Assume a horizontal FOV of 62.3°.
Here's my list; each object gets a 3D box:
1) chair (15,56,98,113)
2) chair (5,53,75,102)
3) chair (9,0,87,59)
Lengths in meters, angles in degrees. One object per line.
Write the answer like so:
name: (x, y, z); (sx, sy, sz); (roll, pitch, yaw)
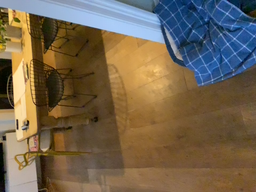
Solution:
chair: (-0.890, -0.110, 2.620); (0.560, 0.780, 0.480); (-24, 72, 48)
chair: (-1.290, -0.240, 3.110); (0.560, 0.780, 0.480); (-27, 71, 48)
chair: (-1.050, -0.860, 2.790); (0.560, 0.780, 0.480); (-24, 72, 48)
